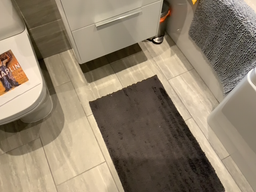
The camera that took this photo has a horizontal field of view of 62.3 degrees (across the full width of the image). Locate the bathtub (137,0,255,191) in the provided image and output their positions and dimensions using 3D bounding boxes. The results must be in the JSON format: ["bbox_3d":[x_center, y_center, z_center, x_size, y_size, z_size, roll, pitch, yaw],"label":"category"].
[{"bbox_3d":[0.810,-0.170,1.180,0.820,0.610,1.680,-24,67,-11],"label":"bathtub"}]

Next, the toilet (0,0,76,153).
[{"bbox_3d":[-0.620,-0.150,1.050,0.370,0.820,0.600,-23,67,-11],"label":"toilet"}]
